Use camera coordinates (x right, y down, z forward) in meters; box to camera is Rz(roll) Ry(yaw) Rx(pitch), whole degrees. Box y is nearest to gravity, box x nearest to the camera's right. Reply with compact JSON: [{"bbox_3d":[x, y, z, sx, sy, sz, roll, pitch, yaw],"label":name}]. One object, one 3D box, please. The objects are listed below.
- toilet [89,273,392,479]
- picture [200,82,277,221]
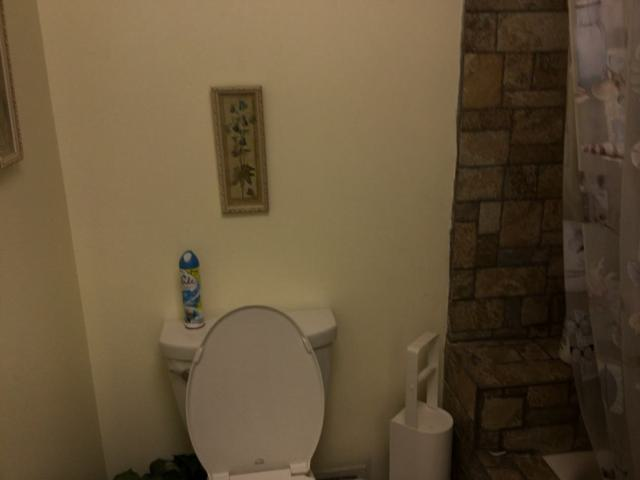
[{"bbox_3d":[-0.150,0.630,1.420,0.490,0.870,0.760,-4,15,-6],"label":"toilet"},{"bbox_3d":[-0.210,-0.230,1.520,0.170,0.350,0.040,-4,15,-6],"label":"picture"}]
